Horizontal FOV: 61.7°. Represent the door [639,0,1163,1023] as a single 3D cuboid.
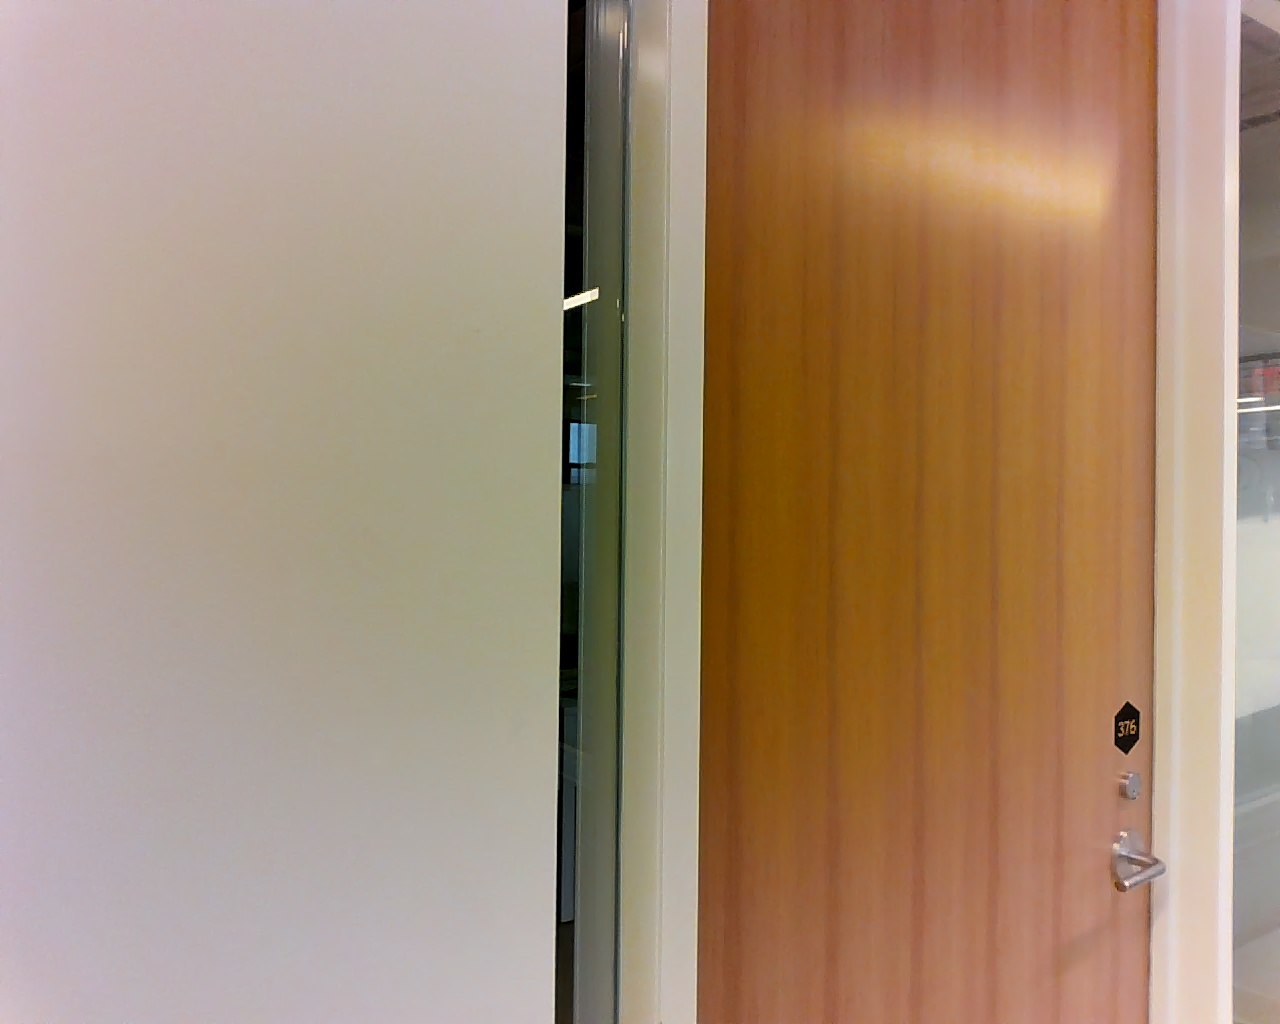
[{"bbox_3d":[0.360,0.360,1.260,0.860,2.180,0.050,1,0,-37],"label":"door"}]
